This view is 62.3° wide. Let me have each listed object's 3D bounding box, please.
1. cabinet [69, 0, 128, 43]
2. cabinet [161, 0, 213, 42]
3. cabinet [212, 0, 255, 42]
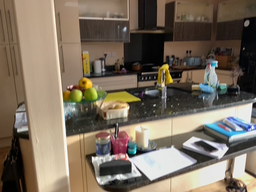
[{"bbox_3d":[-0.470,-1.250,3.510,0.880,0.700,0.340,-7,14,-23],"label":"cabinet"},{"bbox_3d":[1.170,-1.450,4.200,0.960,0.730,0.350,-7,14,-23],"label":"cabinet"},{"bbox_3d":[2.050,-1.390,3.870,0.380,0.740,0.930,-7,14,-23],"label":"cabinet"}]
